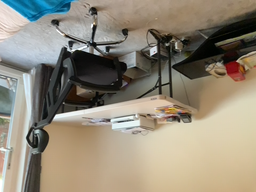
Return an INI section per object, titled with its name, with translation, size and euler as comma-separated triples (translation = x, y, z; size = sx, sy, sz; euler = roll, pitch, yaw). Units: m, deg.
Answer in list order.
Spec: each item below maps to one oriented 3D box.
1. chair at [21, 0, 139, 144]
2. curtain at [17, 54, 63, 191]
[chair]
translation = -0.400, -0.190, 1.800
size = 0.760, 1.120, 0.650
euler = 7, 163, -23
[curtain]
translation = -1.070, 0.530, 2.590
size = 0.170, 2.110, 0.320
euler = -11, 161, 35
